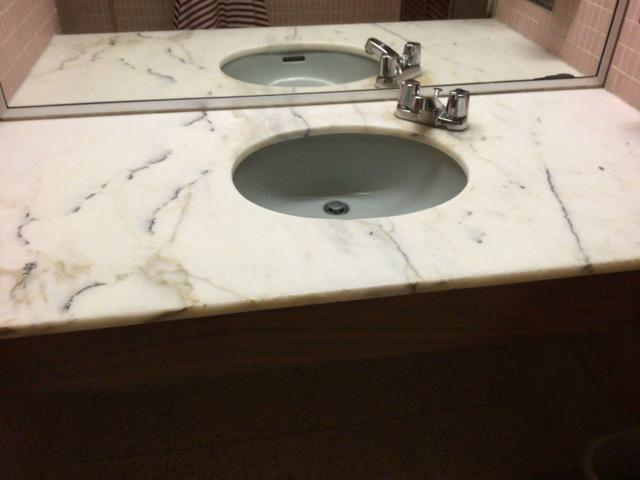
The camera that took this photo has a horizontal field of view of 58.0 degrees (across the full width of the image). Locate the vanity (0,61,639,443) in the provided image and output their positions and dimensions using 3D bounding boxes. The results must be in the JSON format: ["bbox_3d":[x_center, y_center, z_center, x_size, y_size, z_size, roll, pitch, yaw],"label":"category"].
[{"bbox_3d":[0.050,-0.060,1.010,1.280,0.270,0.600,-5,35,-9],"label":"vanity"}]
